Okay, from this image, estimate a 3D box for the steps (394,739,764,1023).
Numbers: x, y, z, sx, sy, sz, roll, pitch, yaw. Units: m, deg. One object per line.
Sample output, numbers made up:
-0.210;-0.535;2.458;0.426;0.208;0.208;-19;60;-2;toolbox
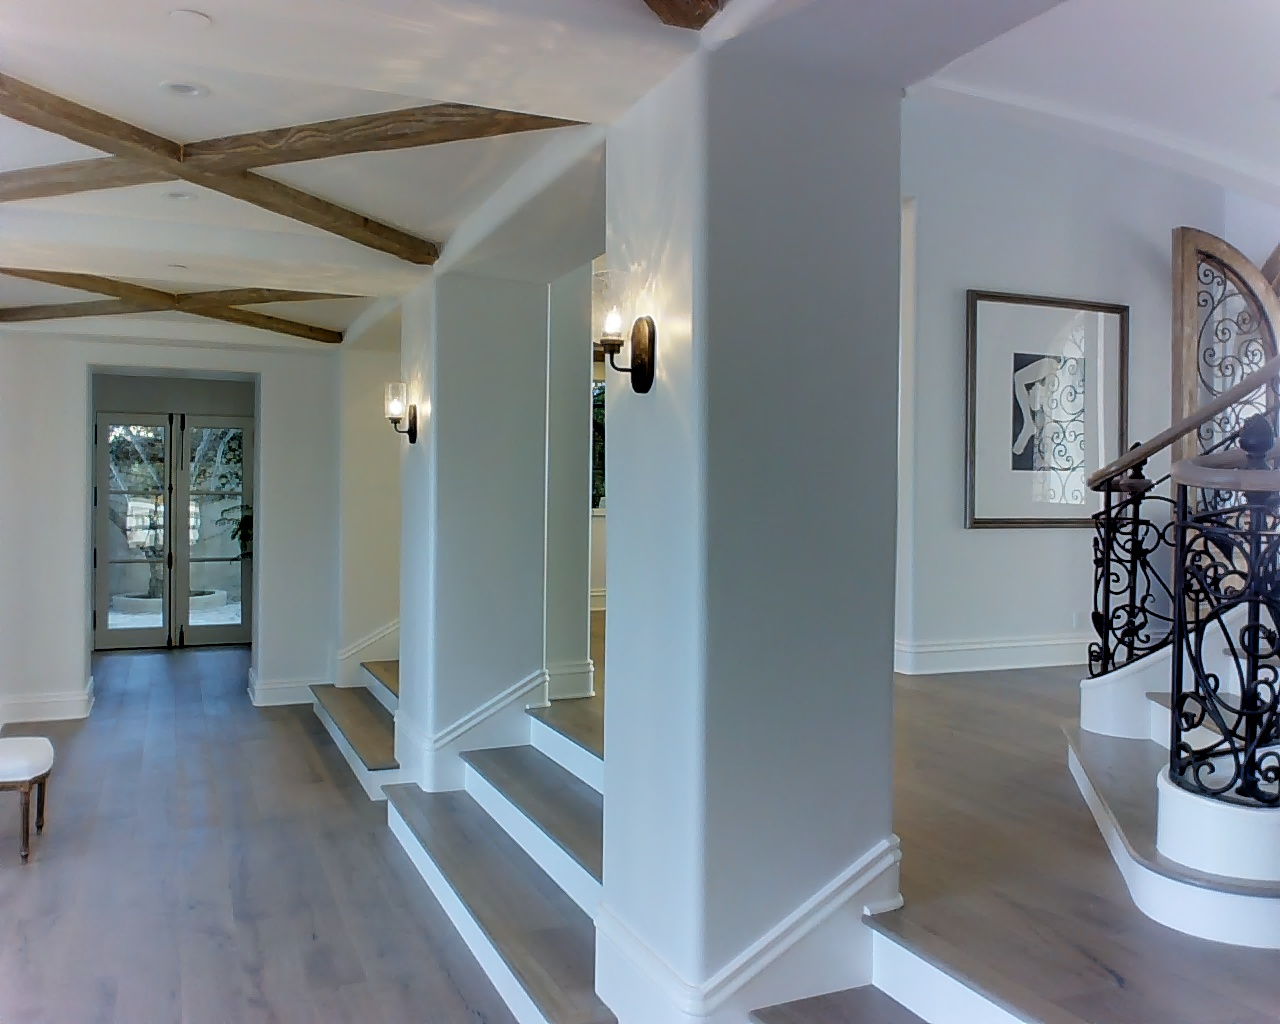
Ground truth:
-0.430;1.390;4.190;0.580;0.440;2.660;0;0;-23;steps
